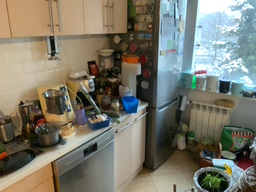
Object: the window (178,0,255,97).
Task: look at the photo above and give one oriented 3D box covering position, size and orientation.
[{"bbox_3d":[1.220,-0.670,2.580,1.120,1.210,0.190,14,23,35],"label":"window"}]
